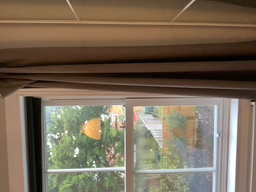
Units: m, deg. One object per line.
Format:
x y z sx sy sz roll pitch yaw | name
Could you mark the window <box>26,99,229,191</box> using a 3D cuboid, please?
0.020 0.590 1.590 0.030 1.470 1.130 -138 48 -84 | window
